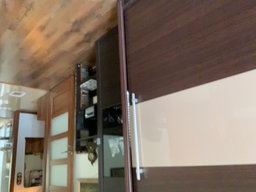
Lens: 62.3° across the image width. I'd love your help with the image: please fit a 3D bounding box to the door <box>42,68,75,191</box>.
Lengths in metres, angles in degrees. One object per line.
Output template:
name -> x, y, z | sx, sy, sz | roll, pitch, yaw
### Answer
door -> -1.050, 0.670, 3.190 | 0.080, 2.050, 0.790 | 12, 158, -42
